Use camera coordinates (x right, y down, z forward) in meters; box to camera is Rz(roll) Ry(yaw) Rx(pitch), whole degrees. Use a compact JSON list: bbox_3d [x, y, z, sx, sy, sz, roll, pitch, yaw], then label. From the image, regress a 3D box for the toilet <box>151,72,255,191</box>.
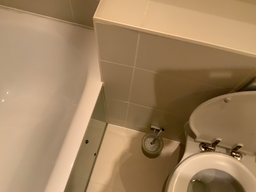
[{"bbox_3d":[0.350,0.340,0.840,0.380,0.770,0.490,11,67,1],"label":"toilet"}]
